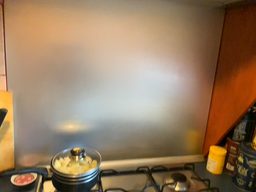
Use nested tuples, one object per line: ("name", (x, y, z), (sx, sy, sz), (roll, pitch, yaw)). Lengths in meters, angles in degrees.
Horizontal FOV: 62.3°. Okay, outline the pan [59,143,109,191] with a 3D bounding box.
("pan", (-0.180, 0.300, 0.820), (0.160, 0.130, 0.250), (1, 14, -16))
